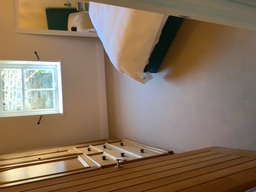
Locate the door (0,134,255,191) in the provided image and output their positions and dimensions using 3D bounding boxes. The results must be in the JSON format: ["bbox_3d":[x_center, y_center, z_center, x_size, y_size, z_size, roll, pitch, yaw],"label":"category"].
[{"bbox_3d":[0.110,0.410,1.200,0.820,1.990,0.040,-5,88,62],"label":"door"}]
